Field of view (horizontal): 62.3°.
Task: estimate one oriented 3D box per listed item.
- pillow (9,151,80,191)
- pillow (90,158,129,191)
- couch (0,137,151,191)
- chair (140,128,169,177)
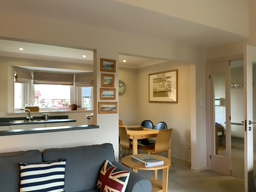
[{"bbox_3d":[-0.740,0.760,1.910,0.480,0.380,0.130,26,-13,-26],"label":"pillow"},{"bbox_3d":[-0.190,0.820,2.070,0.130,0.310,0.350,33,-16,-23],"label":"pillow"},{"bbox_3d":[-0.770,0.940,1.920,1.710,0.820,0.980,1,-1,-33],"label":"couch"},{"bbox_3d":[0.470,1.000,3.880,0.360,0.770,0.440,0,-1,-21],"label":"chair"}]
